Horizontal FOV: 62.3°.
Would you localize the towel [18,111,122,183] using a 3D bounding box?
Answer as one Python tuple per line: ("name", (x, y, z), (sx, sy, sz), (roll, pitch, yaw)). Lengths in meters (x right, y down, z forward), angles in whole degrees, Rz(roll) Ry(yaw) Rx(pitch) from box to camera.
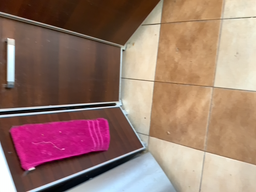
("towel", (-0.220, 0.190, 0.910), (0.090, 0.410, 0.200), (-38, 71, 29))
